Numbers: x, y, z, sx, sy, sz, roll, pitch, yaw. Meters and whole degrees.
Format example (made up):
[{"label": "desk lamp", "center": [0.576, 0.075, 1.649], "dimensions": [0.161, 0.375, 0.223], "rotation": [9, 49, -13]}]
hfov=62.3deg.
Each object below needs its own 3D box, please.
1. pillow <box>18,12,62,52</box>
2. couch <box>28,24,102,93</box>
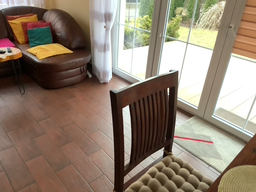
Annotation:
[{"label": "pillow", "center": [-1.410, -1.020, 3.420], "dimensions": [0.450, 0.480, 0.210], "rotation": [-31, 25, -23]}, {"label": "couch", "center": [-0.900, -0.600, 3.130], "dimensions": [0.800, 0.750, 0.640], "rotation": [-17, 35, -35]}]
